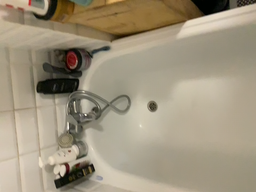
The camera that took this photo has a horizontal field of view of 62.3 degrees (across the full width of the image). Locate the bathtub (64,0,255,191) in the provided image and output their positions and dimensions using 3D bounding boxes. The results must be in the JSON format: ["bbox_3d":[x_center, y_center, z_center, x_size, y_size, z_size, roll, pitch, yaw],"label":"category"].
[{"bbox_3d":[0.410,0.020,0.970,1.400,0.540,0.670,-3,93,35],"label":"bathtub"}]
